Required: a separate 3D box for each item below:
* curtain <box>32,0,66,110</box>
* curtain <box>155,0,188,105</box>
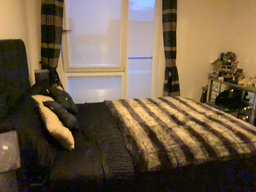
[{"bbox_3d":[-1.040,-0.810,2.780,0.320,2.030,0.140,-4,16,-18],"label":"curtain"},{"bbox_3d":[0.660,-0.860,3.260,0.330,2.000,0.220,-4,16,-18],"label":"curtain"}]
